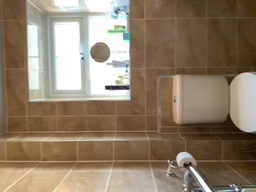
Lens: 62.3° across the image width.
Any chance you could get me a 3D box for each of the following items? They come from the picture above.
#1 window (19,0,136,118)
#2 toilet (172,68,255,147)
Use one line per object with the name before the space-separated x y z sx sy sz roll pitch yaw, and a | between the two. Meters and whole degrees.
window | -0.450 -0.360 2.120 0.420 1.040 1.100 -72 -19 -88
toilet | 0.720 0.040 1.350 0.680 0.750 0.380 -76 -15 -88
